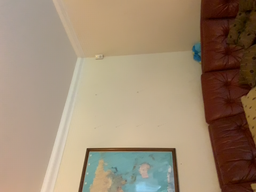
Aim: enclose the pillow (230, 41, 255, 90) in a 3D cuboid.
[{"bbox_3d":[1.090,-0.290,1.980,0.360,0.130,0.410,-58,-34,-78],"label":"pillow"}]
